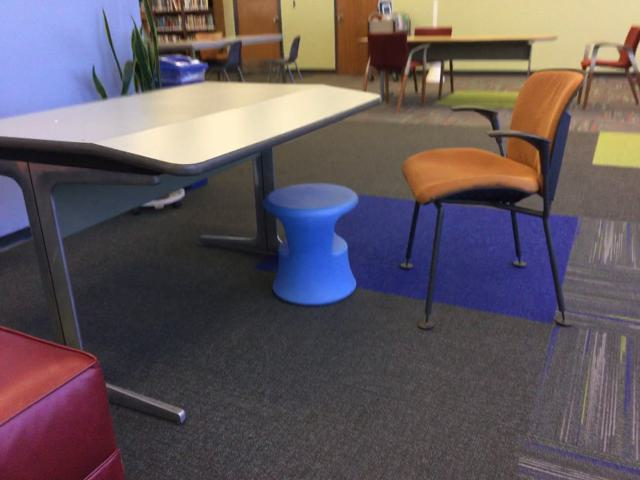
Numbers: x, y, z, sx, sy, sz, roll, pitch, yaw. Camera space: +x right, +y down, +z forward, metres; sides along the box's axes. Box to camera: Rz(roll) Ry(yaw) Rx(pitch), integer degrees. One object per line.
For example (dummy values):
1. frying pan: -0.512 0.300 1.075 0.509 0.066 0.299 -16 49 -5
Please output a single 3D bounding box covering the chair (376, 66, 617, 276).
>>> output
1. chair: 0.530 -0.270 1.980 0.610 0.610 0.570 -1 17 0
